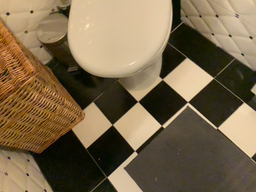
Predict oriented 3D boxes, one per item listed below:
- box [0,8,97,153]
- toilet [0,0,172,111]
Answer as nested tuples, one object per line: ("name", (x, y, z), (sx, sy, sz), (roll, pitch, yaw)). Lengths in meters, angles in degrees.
("box", (-0.470, -0.060, 0.910), (0.330, 0.490, 0.440), (-44, 67, -6))
("toilet", (-0.030, -0.390, 0.790), (0.370, 0.740, 0.700), (0, 69, 12))
